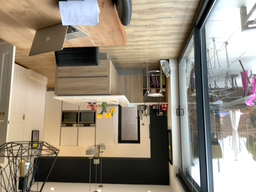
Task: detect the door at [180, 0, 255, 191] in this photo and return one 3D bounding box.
[{"bbox_3d":[0.920,0.040,1.920,0.060,2.300,5.160,-1,172,6],"label":"door"}]
